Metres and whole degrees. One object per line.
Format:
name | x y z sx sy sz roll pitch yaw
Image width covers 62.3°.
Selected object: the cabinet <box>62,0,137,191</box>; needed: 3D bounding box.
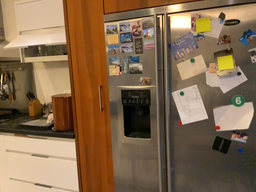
cabinet | -0.190 0.130 1.910 0.310 2.160 0.620 1 10 21
